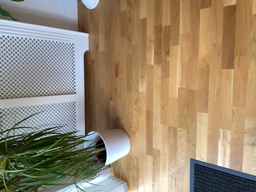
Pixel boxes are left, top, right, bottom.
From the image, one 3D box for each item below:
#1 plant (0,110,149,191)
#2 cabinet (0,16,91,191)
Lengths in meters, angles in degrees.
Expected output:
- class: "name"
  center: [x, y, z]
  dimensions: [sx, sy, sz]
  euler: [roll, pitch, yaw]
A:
- class: "plant"
  center: [-0.530, 0.480, 1.380]
  dimensions: [0.650, 1.320, 0.560]
  euler: [4, 97, 43]
- class: "cabinet"
  center: [-0.730, 0.040, 1.750]
  dimensions: [0.170, 0.900, 1.220]
  euler: [6, 99, 43]
